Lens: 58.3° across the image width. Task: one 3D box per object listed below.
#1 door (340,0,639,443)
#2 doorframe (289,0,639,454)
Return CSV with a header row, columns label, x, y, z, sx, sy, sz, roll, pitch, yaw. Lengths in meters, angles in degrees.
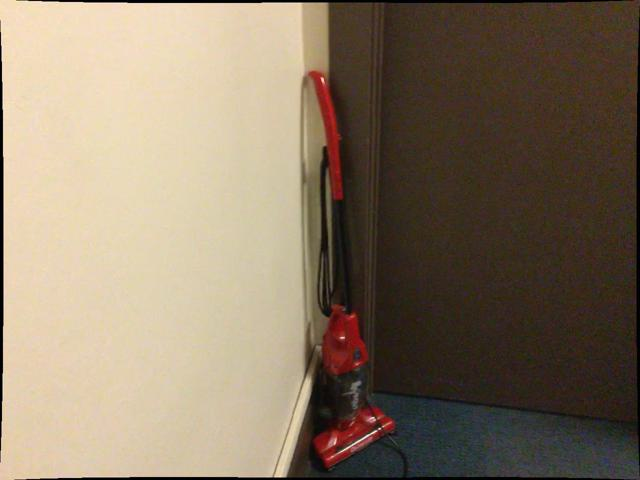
label,x,y,z,sx,sy,sz,roll,pitch,yaw
door,0.560,-0.370,1.250,0.959,2.011,0.130,6,30,9
doorframe,0.500,-0.360,1.230,1.119,1.991,0.170,6,30,9
